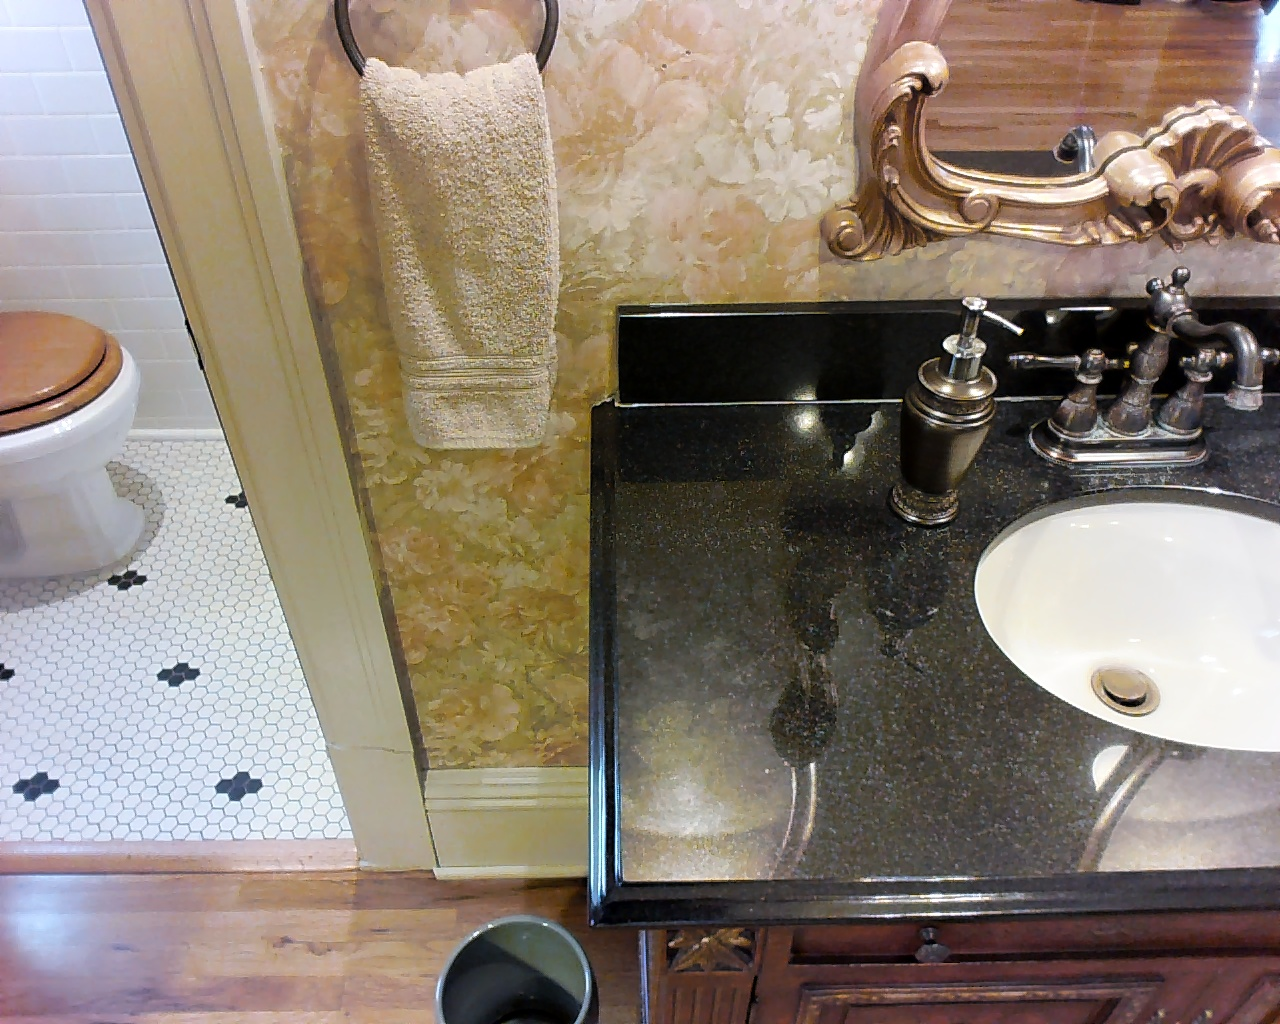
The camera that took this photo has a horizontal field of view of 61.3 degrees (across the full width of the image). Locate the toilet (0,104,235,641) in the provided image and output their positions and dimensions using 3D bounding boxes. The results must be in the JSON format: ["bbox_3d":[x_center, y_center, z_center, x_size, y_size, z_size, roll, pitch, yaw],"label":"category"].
[{"bbox_3d":[-1.290,-0.230,1.970,0.760,0.800,0.540,-2,43,-1],"label":"toilet"}]
